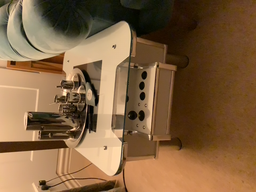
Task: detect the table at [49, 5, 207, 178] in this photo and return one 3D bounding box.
[{"bbox_3d":[-0.090,-0.010,1.180,0.900,0.400,0.570,1,87,55],"label":"table"}]
